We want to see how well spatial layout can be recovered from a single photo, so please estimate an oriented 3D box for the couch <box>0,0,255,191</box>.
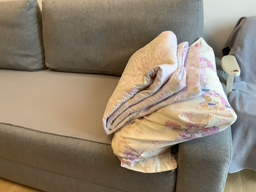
[{"bbox_3d":[-0.620,-0.140,1.370,2.330,0.870,0.950,7,32,17],"label":"couch"}]
